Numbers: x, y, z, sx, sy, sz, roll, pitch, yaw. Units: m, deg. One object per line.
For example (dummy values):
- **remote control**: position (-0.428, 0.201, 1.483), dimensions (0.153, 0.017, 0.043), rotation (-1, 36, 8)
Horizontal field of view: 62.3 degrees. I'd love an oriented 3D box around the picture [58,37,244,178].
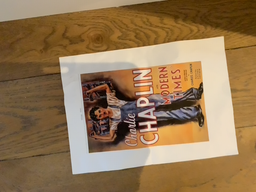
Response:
- **picture**: position (0.040, 0.020, 0.370), dimensions (0.300, 0.001, 0.210), rotation (-8, 90, 0)
